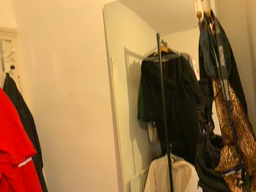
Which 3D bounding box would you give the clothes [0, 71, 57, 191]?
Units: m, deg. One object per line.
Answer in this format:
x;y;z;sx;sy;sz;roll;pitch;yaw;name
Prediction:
-0.470;0.420;0.920;0.170;1.030;0.340;-8;4;3;clothes
